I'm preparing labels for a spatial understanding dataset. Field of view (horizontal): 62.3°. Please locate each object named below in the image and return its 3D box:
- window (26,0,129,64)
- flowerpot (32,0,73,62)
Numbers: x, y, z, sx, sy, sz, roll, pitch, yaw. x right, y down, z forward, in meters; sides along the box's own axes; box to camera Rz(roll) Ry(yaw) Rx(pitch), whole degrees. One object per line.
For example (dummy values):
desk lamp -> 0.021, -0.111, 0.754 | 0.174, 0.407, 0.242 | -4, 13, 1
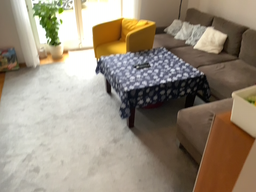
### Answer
window -> -0.840, -1.850, 3.700 | 1.800, 2.490, 0.110 | -11, 35, -19
flowerpot -> -1.320, -1.200, 3.730 | 0.490, 1.010, 0.550 | -11, 35, -18
